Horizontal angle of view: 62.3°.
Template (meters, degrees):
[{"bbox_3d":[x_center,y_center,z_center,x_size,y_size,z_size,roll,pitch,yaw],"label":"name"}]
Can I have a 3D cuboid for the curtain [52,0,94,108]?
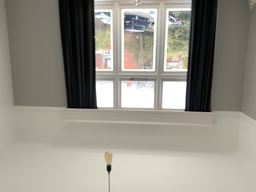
[{"bbox_3d":[-0.830,-0.930,3.230,0.550,2.250,0.160,1,-169,5],"label":"curtain"}]

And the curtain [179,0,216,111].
[{"bbox_3d":[1.030,-0.940,3.130,0.410,2.350,0.130,1,-169,3],"label":"curtain"}]
